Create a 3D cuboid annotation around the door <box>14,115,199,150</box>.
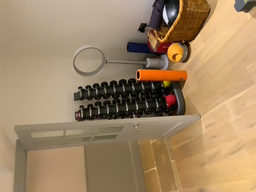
[{"bbox_3d":[-0.200,0.440,2.550,0.790,1.970,0.040,124,140,-58],"label":"door"}]
